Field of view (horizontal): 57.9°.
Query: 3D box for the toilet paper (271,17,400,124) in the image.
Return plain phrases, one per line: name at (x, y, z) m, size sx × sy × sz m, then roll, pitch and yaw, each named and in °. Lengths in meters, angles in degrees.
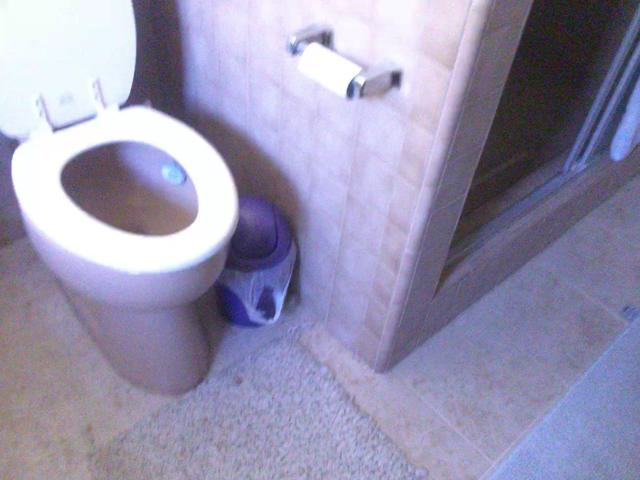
toilet paper at (0.020, -0.280, 0.940) m, size 0.090 × 0.070 × 0.200 m, roll -33°, pitch 57°, yaw -30°
